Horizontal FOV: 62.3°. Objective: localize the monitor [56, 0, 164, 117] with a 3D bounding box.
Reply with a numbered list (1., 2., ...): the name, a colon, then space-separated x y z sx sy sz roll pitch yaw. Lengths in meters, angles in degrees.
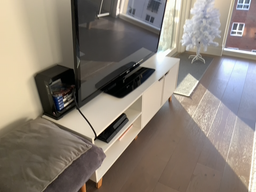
1. monitor: 0.000 -0.460 1.540 0.060 0.740 1.140 8 30 30
